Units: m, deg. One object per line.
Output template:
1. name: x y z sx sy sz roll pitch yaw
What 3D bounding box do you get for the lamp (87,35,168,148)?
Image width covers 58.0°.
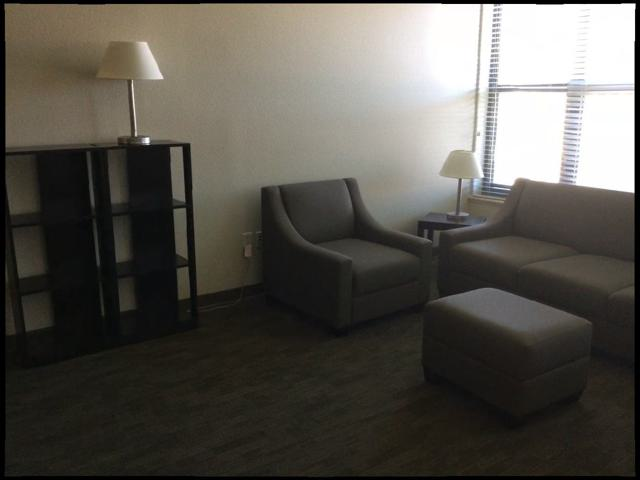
1. lamp: -1.148 -0.882 3.440 0.330 0.611 0.360 -10 18 -30
